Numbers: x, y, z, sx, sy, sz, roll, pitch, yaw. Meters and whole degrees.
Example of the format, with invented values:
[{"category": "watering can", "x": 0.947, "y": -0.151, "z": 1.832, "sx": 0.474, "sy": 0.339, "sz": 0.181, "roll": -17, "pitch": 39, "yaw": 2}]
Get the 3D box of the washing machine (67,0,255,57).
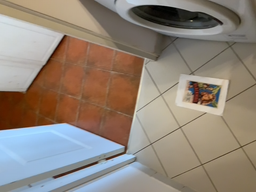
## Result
[{"category": "washing machine", "x": 0.270, "y": -0.480, "z": 0.950, "sx": 0.570, "sy": 0.820, "sz": 0.420, "roll": 13, "pitch": 96, "yaw": 34}]
